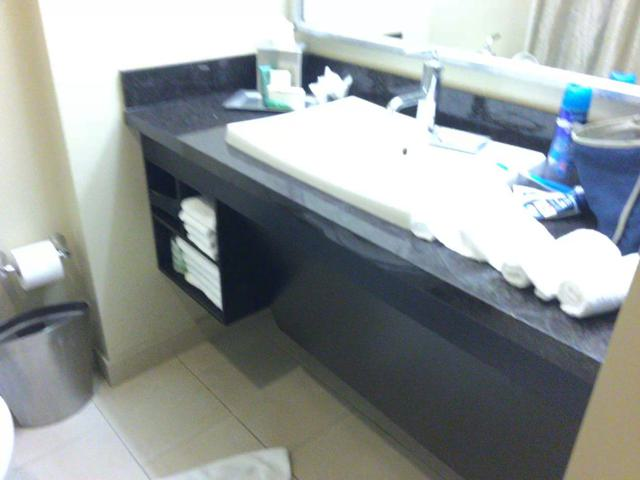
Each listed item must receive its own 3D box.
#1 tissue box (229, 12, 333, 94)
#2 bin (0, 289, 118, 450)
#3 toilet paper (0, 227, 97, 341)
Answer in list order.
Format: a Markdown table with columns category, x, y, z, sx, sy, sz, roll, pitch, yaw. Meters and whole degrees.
| category | x | y | z | sx | sy | sz | roll | pitch | yaw |
| --- | --- | --- | --- | --- | --- | --- | --- | --- | --- |
| tissue box | -0.110 | -0.550 | 1.680 | 0.220 | 0.180 | 0.200 | -21 | 34 | -34 |
| bin | -0.810 | 0.370 | 1.700 | 0.320 | 0.320 | 0.170 | -21 | 34 | -34 |
| toilet paper | -0.770 | 0.120 | 1.640 | 0.180 | 0.240 | 0.140 | -21 | 34 | -34 |
